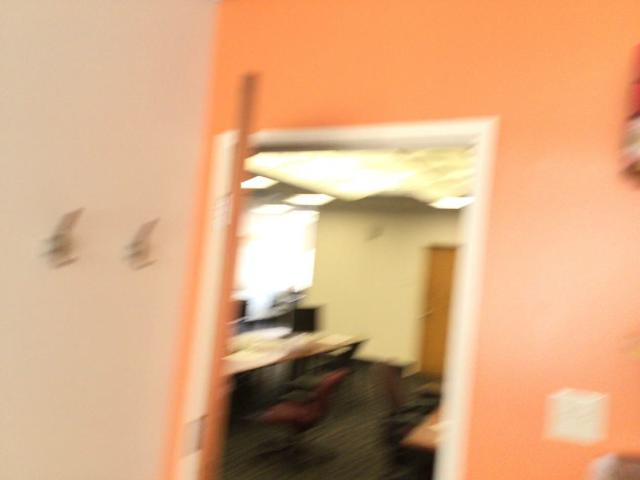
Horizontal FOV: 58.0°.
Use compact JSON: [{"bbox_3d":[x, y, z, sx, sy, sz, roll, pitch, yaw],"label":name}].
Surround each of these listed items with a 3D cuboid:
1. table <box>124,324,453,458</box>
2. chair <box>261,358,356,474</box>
[{"bbox_3d":[0.030,1.560,7.030,2.070,0.800,4.270,2,-6,28],"label":"table"},{"bbox_3d":[-0.070,1.370,4.590,0.650,0.730,0.540,5,-5,3],"label":"chair"}]
